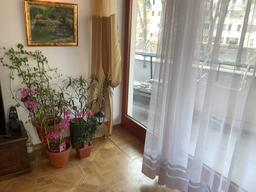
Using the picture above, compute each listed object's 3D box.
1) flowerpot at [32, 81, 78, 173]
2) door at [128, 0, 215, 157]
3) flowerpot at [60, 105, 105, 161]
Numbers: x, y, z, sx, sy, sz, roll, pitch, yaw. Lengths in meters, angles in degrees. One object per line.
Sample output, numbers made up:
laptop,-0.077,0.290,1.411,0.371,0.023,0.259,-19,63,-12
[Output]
flowerpot,-0.880,0.340,2.560,0.330,0.920,0.540,-10,23,-34
door,0.500,-0.410,3.040,0.210,2.270,1.160,-11,24,-37
flowerpot,-0.610,0.460,2.830,0.390,0.490,0.510,-12,24,-38
